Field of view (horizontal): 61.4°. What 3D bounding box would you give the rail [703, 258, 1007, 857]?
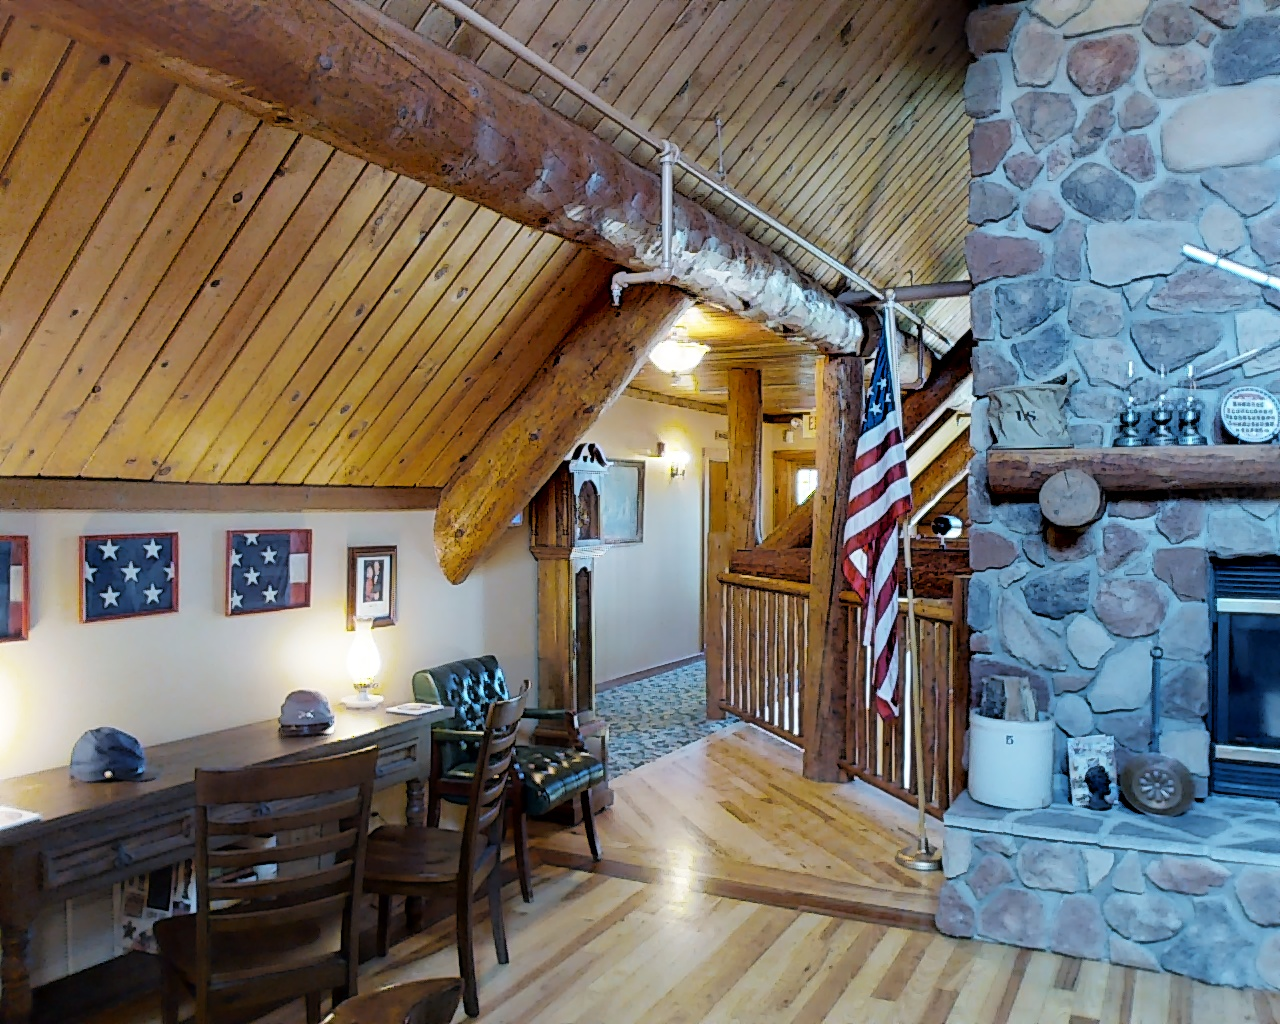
[{"bbox_3d":[1.220,0.170,7.860,1.330,2.641,6.130,0,1,5],"label":"rail"}]
